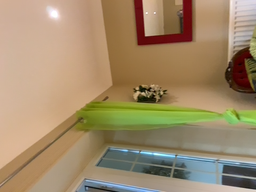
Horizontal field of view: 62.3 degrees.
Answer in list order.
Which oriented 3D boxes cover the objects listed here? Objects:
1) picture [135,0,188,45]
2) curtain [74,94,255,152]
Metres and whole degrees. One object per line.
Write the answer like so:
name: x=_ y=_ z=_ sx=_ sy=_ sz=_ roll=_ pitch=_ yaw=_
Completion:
picture: x=0.390 y=-1.090 z=2.540 sx=0.020 sy=0.630 sz=0.900 roll=-46 pitch=-46 yaw=-62
curtain: x=0.610 y=0.190 z=1.680 sx=0.340 sy=2.140 sz=0.280 roll=-49 pitch=-43 yaw=-61
